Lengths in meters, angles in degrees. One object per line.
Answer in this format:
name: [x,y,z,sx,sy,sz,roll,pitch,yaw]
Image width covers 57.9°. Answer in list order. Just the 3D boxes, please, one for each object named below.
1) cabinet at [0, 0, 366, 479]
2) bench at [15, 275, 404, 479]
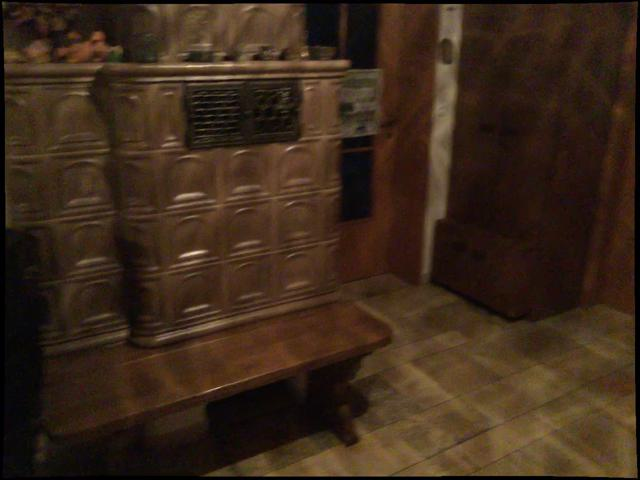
cabinet: [-0.599,-0.190,2.360,1.279,1.762,0.860,-11,22,-28]
bench: [-0.370,0.571,2.160,1.269,0.470,0.550,-11,22,-28]
